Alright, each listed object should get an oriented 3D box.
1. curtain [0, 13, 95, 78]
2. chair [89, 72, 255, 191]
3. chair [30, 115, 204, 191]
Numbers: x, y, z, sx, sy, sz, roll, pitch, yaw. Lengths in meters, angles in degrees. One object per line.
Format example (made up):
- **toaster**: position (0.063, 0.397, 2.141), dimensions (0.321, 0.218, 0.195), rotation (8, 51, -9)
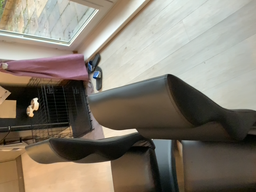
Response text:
- **curtain**: position (-1.360, -0.480, 1.850), dimensions (0.380, 2.190, 0.410), rotation (-37, 64, 41)
- **chair**: position (0.400, 0.300, 0.930), dimensions (0.420, 0.980, 0.650), rotation (-17, 78, 46)
- **chair**: position (0.000, 0.510, 1.350), dimensions (0.420, 1.000, 0.650), rotation (-19, 77, 46)
